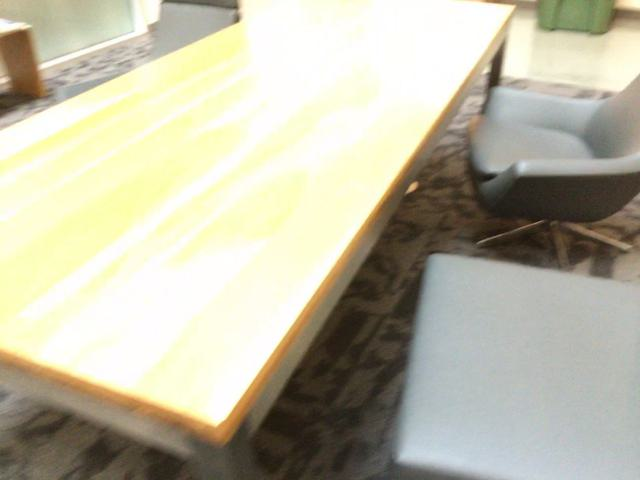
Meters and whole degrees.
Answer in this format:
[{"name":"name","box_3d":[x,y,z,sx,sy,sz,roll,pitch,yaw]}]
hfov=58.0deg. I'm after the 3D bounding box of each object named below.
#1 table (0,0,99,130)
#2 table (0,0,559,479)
[{"name":"table","box_3d":[-1.910,-1.060,3.410,0.620,0.540,0.850,20,38,26]},{"name":"table","box_3d":[-0.050,-0.170,1.900,1.090,0.860,2.360,14,34,24]}]
